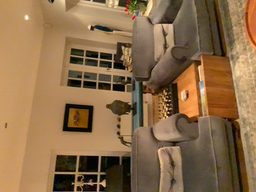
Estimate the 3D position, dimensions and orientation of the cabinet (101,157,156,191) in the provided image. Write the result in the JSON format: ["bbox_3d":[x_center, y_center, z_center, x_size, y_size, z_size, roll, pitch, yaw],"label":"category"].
[{"bbox_3d":[0.000,1.690,4.240,0.440,1.000,0.870,125,147,-67],"label":"cabinet"}]

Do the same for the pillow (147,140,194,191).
[{"bbox_3d":[0.490,0.830,2.420,0.540,0.330,0.090,-58,1,-22],"label":"pillow"}]

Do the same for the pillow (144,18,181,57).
[{"bbox_3d":[0.480,-0.810,2.910,0.420,0.340,0.120,-59,2,-23],"label":"pillow"}]
